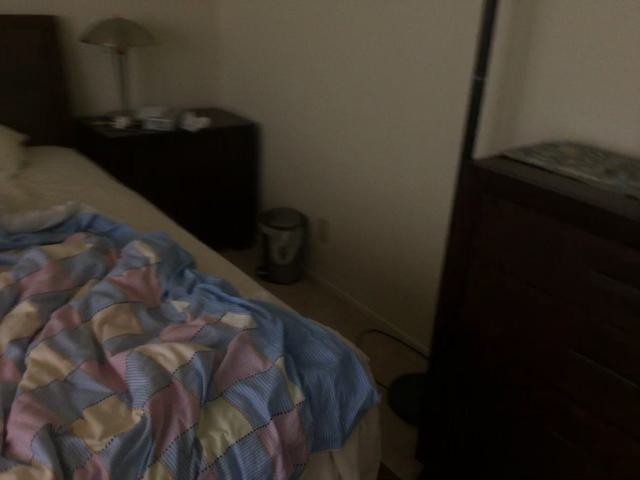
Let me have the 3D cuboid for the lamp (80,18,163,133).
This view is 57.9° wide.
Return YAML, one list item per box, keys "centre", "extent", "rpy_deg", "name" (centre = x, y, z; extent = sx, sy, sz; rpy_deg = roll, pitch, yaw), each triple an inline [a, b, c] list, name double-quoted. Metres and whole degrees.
- centre: [-0.840, -0.700, 2.450]
  extent: [0.220, 0.420, 0.300]
  rpy_deg: [-13, 29, -37]
  name: "lamp"
